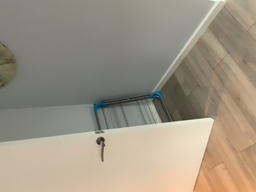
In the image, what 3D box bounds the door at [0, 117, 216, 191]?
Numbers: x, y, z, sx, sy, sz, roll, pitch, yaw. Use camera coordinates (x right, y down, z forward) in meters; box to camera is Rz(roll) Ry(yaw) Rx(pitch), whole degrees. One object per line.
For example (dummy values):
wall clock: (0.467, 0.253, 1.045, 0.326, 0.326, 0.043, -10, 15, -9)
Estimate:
door: (-0.240, 0.590, 1.430, 0.040, 2.000, 0.780, 44, 130, 53)
